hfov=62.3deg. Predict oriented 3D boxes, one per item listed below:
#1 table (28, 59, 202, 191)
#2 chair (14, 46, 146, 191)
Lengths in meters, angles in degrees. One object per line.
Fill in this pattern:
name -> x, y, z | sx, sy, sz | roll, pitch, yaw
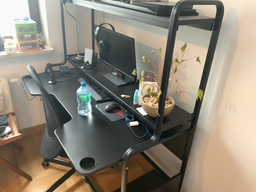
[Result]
table -> -0.270, 0.290, 1.840 | 0.750, 0.720, 1.480 | -13, 32, -29
chair -> -0.380, 0.220, 1.650 | 0.650, 1.000, 0.700 | -14, 33, -30
